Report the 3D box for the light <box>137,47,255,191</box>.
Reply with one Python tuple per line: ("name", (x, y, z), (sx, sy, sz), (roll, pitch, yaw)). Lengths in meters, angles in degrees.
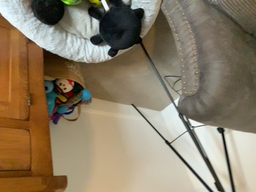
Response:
("light", (0.680, 0.500, 1.550), (0.510, 1.740, 0.550), (11, 137, -39))
